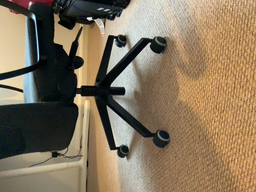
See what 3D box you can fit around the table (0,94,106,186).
[{"bbox_3d":[-0.610,0.240,1.480,0.570,0.730,0.410,22,111,62],"label":"table"}]
